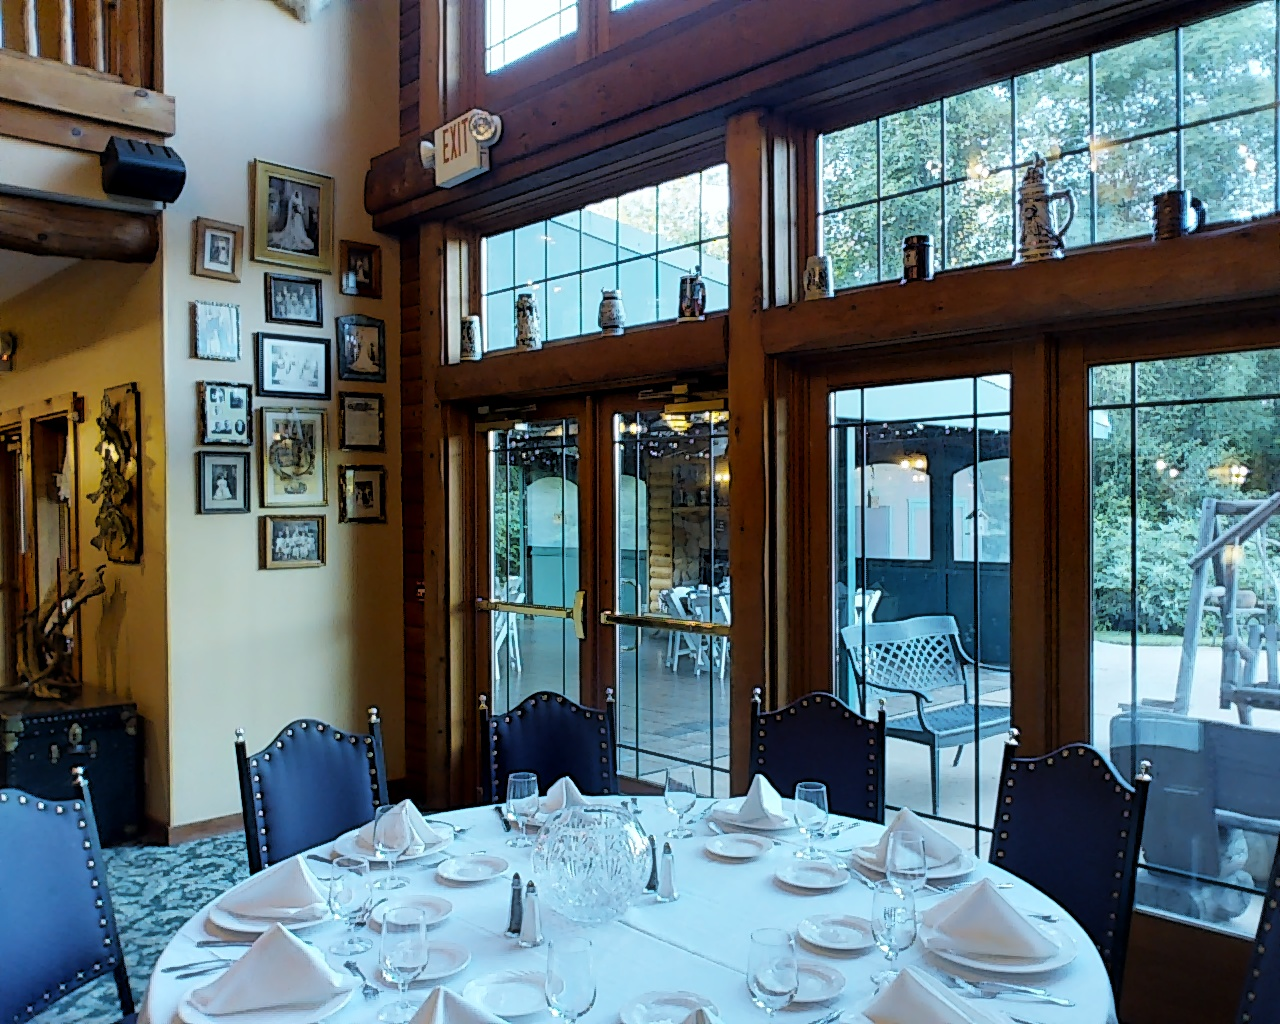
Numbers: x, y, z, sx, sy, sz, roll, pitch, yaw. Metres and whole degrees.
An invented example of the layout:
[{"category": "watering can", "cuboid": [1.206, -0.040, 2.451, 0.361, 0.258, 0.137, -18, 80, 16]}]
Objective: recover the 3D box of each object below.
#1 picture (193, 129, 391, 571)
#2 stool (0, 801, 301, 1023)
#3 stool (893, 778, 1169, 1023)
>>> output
[{"category": "picture", "cuboid": [-1.690, -0.750, 5.320, 0.990, 2.030, 0.060, -1, 1, -44]}, {"category": "stool", "cuboid": [-1.060, 1.090, 2.150, 0.500, 0.840, 0.590, 0, 1, 13]}, {"category": "stool", "cuboid": [0.850, 1.070, 2.380, 0.400, 0.830, 0.410, -1, 1, -23]}]
